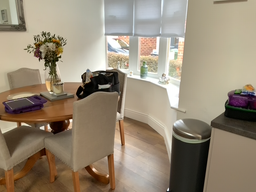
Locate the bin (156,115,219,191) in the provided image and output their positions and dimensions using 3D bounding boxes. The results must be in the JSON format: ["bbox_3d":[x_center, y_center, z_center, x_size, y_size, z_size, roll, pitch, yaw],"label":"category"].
[{"bbox_3d":[0.480,0.550,1.740,0.290,0.650,0.420,15,22,38],"label":"bin"}]

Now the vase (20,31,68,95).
[{"bbox_3d":[-0.750,-0.310,1.950,0.270,0.550,0.260,2,17,3],"label":"vase"}]

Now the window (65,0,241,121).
[{"bbox_3d":[0.170,-0.820,2.860,1.020,1.530,2.080,-15,23,-42],"label":"window"}]
